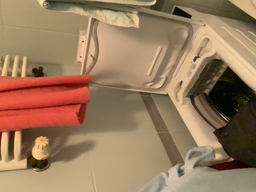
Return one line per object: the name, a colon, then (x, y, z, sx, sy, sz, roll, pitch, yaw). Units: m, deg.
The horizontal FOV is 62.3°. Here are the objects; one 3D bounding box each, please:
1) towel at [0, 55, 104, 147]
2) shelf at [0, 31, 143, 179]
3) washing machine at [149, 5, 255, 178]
towel: (-0.370, 0.010, 0.730, 0.280, 0.510, 0.150, -111, 31, -41)
shelf: (-0.550, -0.020, 0.780, 0.630, 1.080, 0.150, -111, 31, -41)
washing machine: (0.650, -0.030, 1.080, 0.600, 0.820, 0.470, -110, 31, -41)
